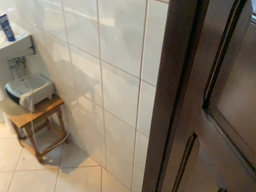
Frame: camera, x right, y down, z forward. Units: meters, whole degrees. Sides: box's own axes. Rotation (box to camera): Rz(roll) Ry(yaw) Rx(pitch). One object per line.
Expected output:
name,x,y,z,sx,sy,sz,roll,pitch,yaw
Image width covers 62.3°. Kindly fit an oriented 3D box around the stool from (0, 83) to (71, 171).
stool,-0.670,0.220,1.540,0.320,0.460,0.310,29,46,28
